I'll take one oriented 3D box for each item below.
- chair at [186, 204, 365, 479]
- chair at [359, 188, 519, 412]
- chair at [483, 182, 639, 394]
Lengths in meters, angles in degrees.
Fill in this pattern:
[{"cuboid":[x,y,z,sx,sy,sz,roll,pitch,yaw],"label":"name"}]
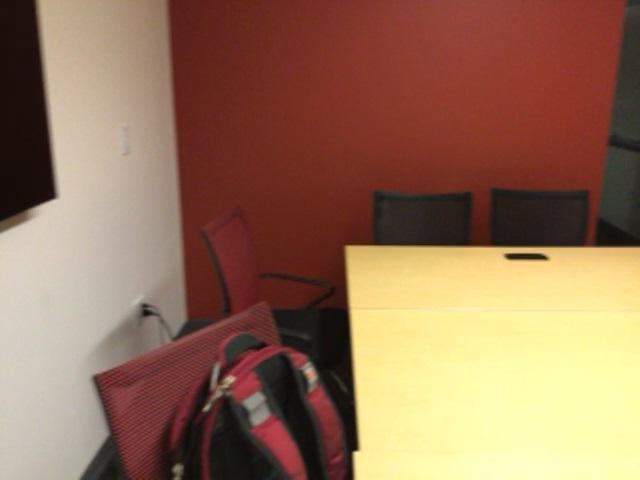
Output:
[{"cuboid":[-0.120,0.360,2.250,0.520,0.900,0.580,0,14,9],"label":"chair"},{"cuboid":[0.500,0.240,2.520,0.600,0.860,0.420,0,14,9],"label":"chair"},{"cuboid":[1.050,0.180,2.500,0.590,0.780,0.500,0,14,9],"label":"chair"}]
